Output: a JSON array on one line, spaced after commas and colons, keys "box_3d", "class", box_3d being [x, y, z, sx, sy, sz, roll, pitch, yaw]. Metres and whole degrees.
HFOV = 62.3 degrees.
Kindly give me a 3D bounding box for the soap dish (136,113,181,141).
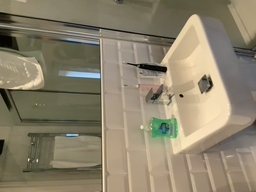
[{"box_3d": [0.140, 0.150, 1.000, 0.090, 0.180, 0.100, 118, 152, -56], "class": "soap dish"}]
